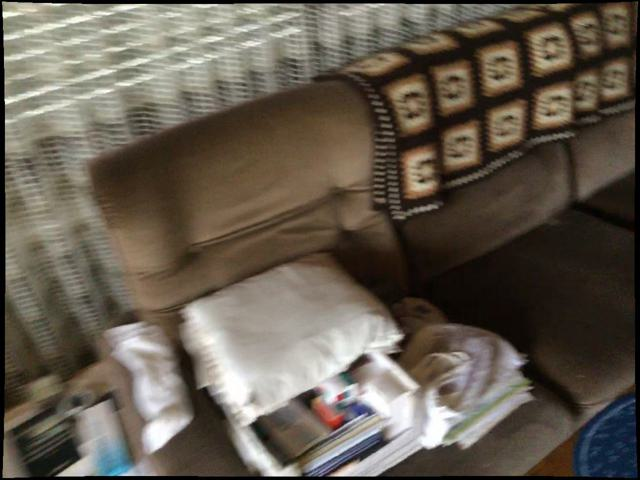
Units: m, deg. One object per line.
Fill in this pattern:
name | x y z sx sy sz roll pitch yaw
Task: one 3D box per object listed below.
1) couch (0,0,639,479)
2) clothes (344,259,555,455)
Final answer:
couch | 0.589 -0.040 1.570 2.339 0.891 1.080 -27 43 -26
clothes | 0.280 0.240 1.290 0.330 0.140 0.300 -27 43 -26
